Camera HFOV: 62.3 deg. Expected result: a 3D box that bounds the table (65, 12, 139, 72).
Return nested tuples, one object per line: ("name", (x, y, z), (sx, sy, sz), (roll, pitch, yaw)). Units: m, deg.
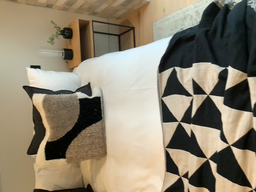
("table", (-0.250, -0.490, 2.090), (0.310, 0.630, 0.450), (-3, 90, 57))
